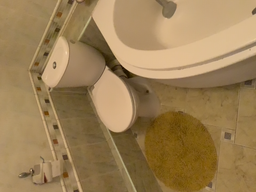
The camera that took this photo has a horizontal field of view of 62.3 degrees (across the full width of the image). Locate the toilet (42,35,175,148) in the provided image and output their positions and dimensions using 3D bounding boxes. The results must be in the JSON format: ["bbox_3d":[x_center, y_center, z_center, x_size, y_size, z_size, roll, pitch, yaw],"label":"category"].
[{"bbox_3d":[-0.140,-0.030,1.620,0.370,0.750,0.630,-49,56,32],"label":"toilet"}]
